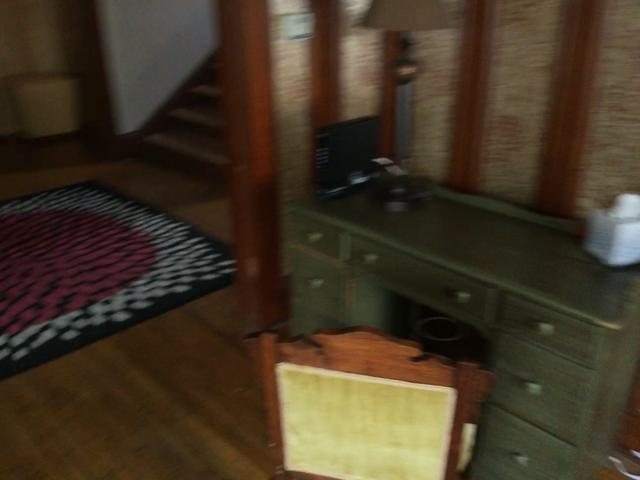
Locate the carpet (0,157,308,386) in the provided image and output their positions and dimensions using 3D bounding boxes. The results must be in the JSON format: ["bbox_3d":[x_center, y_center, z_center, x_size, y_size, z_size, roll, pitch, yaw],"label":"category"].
[{"bbox_3d":[-1.550,0.020,3.340,2.070,0.160,2.170,-16,30,-35],"label":"carpet"}]
